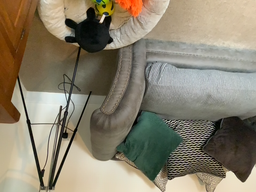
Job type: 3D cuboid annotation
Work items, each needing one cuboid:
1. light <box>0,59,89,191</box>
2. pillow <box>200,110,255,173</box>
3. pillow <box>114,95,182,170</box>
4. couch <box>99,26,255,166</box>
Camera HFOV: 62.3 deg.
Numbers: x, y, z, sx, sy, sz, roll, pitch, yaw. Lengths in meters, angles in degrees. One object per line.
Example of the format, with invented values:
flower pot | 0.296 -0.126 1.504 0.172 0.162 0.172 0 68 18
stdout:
light | -0.710 0.560 1.900 0.550 1.740 0.510 3 155 -7
pillow | 0.910 0.400 1.810 0.420 0.460 0.270 6 154 -12
pillow | 0.140 0.310 1.710 0.410 0.500 0.320 9 153 -19
couch | 0.590 0.140 1.860 1.620 0.740 1.090 3 155 -7
